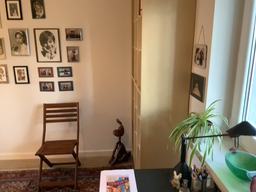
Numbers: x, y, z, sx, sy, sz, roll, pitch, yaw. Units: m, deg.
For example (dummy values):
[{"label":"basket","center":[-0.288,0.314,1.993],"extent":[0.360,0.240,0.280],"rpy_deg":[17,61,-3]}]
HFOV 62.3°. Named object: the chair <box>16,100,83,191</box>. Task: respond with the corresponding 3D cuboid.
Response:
[{"label":"chair","center":[-0.860,0.540,2.520],"extent":[0.540,0.800,0.670],"rpy_deg":[-2,15,-7]}]
